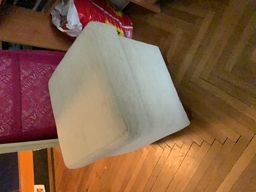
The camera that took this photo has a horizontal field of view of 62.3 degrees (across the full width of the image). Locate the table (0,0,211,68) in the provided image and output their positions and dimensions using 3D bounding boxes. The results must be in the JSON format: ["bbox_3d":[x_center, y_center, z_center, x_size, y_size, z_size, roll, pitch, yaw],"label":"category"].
[{"bbox_3d":[-0.270,-0.560,0.930,0.840,0.780,0.530,-19,74,46],"label":"table"}]

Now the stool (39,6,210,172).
[{"bbox_3d":[-0.040,0.010,0.890,0.440,0.450,0.420,-36,62,40],"label":"stool"}]
